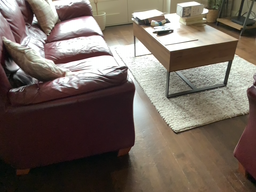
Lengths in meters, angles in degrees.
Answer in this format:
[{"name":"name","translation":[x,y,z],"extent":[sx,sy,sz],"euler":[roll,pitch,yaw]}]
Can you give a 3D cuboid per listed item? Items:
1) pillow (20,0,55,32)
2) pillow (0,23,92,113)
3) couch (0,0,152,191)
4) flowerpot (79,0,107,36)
[{"name":"pillow","translation":[-0.940,-0.920,2.240],"extent":[0.220,0.360,0.370],"euler":[-8,35,-7]},{"name":"pillow","translation":[-0.530,-0.120,1.220],"extent":[0.420,0.420,0.240],"euler":[-2,54,45]},{"name":"couch","translation":[-0.710,-0.480,1.830],"extent":[1.060,0.910,2.180],"euler":[-12,36,-12]},{"name":"flowerpot","translation":[-0.580,-1.450,3.390],"extent":[0.360,0.860,0.330],"euler":[-11,36,-11]}]
